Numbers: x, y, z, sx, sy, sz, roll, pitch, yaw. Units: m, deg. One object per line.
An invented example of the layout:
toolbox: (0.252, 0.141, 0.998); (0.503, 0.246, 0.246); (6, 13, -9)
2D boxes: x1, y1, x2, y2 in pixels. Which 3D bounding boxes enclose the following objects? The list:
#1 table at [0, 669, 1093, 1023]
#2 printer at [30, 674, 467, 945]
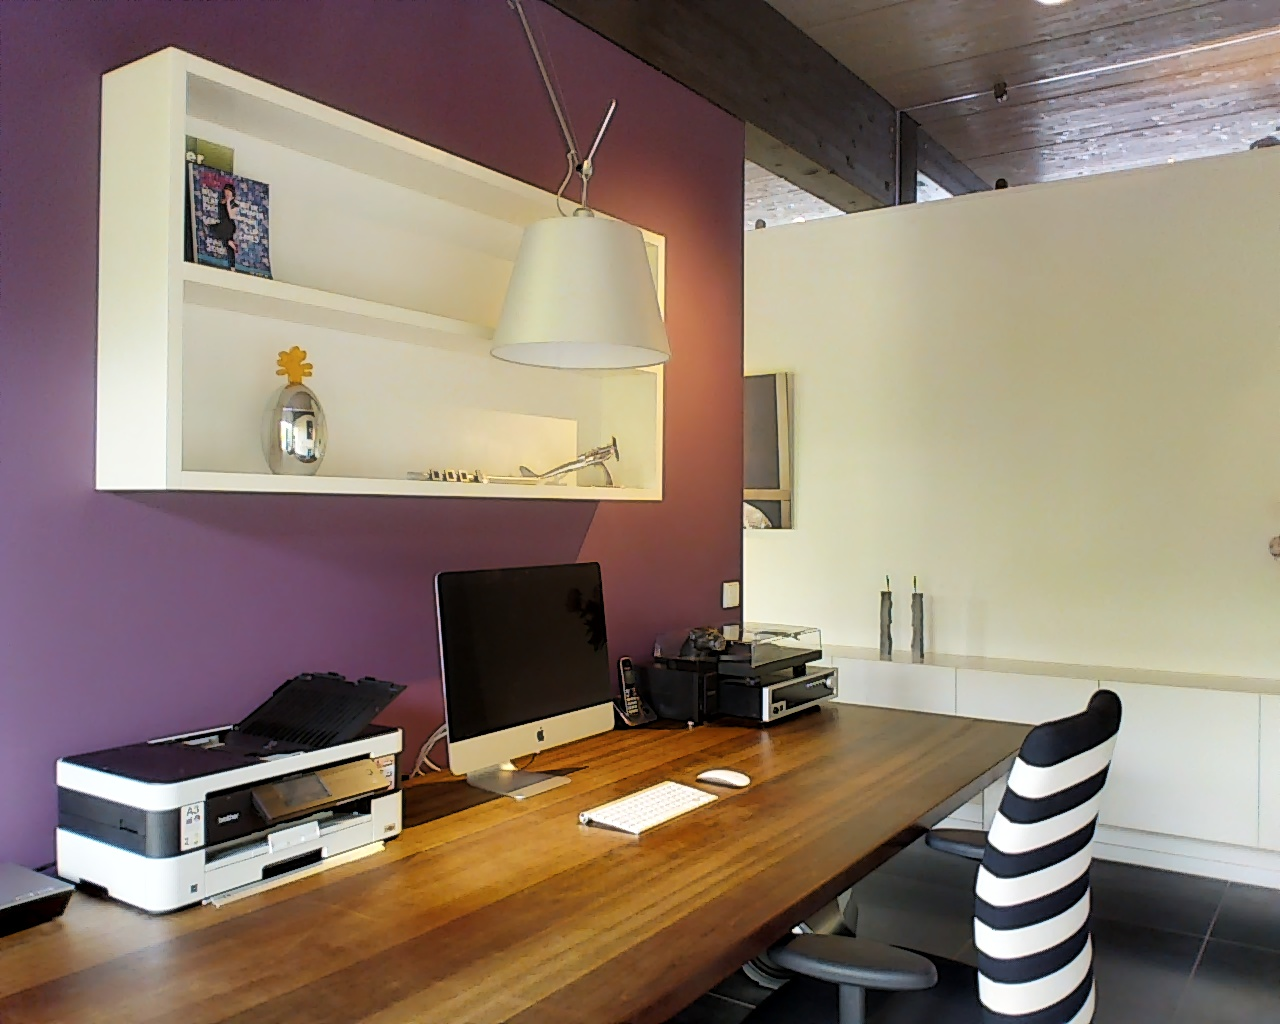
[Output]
table: (-0.050, 0.920, 2.060); (1.150, 0.800, 2.660); (1, 1, 35)
printer: (-0.640, 0.460, 1.820); (0.410, 0.260, 0.560); (1, 1, 35)
